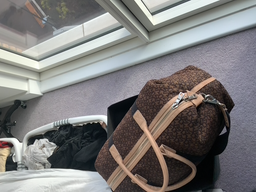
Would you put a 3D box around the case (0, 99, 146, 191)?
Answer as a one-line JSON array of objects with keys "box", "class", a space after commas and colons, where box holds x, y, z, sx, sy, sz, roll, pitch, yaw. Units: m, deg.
[{"box": [-0.540, 0.330, 1.240, 1.200, 0.350, 0.360, -12, 77, 23], "class": "case"}]
